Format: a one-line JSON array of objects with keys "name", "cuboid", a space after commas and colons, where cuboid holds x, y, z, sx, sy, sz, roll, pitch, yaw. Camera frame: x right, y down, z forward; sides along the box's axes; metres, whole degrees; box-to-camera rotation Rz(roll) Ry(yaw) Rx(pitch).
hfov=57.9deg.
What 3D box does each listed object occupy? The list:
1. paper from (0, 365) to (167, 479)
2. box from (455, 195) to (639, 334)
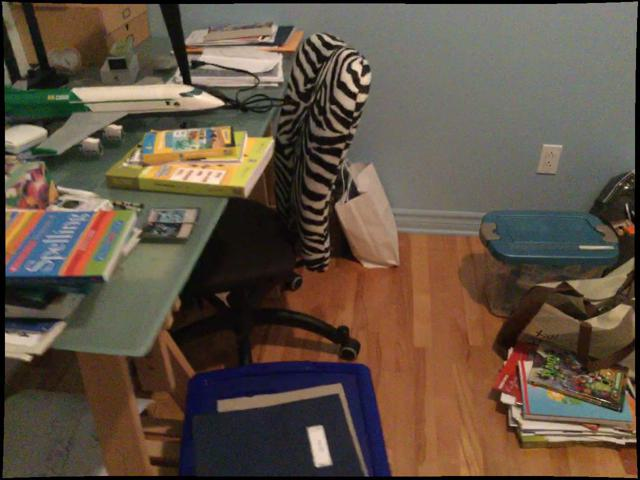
[{"name": "paper", "cuboid": [-0.649, 0.501, 1.360, 0.450, 0.090, 0.440, 1, 36, 4]}, {"name": "box", "cuboid": [0.699, 0.070, 1.880, 0.460, 0.270, 0.340, 3, 36, 7]}]
